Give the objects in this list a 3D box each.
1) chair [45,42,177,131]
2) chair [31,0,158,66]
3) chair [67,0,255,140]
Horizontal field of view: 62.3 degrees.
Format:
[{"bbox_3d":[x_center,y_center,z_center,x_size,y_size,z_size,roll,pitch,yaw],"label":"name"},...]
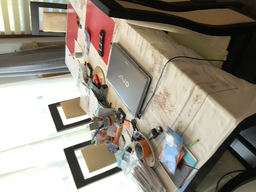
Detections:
[{"bbox_3d":[-0.160,-0.130,1.960,0.390,1.050,0.560,54,142,38],"label":"chair"},{"bbox_3d":[-0.330,-0.670,2.100,0.560,1.050,0.390,57,144,35],"label":"chair"},{"bbox_3d":[0.260,-0.230,1.170,0.410,1.070,0.560,52,141,40],"label":"chair"}]
